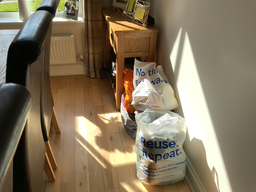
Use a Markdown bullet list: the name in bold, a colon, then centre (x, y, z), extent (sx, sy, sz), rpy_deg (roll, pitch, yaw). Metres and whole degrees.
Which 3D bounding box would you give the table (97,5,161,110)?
- **table**: centre (-0.050, -0.430, 2.150), extent (0.400, 0.760, 0.830), rpy_deg (-6, 34, -13)

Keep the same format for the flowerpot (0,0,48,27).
- **flowerpot**: centre (-1.080, -0.990, 2.150), extent (0.340, 0.440, 0.300), rpy_deg (25, 39, 30)

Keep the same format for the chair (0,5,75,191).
- **chair**: centre (-0.590, 0.200, 0.920), extent (0.610, 1.030, 0.450), rpy_deg (-6, 34, -13)
